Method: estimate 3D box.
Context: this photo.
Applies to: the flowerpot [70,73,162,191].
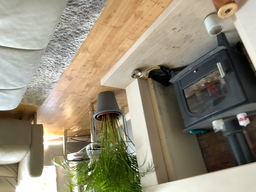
[{"bbox_3d":[-0.180,0.540,2.180,0.550,1.330,0.650,8,150,-34],"label":"flowerpot"}]
